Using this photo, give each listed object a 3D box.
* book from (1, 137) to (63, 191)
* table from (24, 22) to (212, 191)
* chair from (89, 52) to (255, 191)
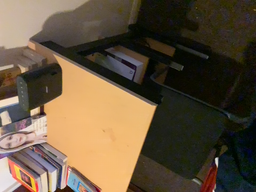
[{"bbox_3d":[-0.410,0.340,0.910,0.190,0.140,0.220,30,124,18],"label":"book"},{"bbox_3d":[-0.020,0.040,1.090,0.510,0.750,0.610,28,124,19],"label":"table"},{"bbox_3d":[0.270,0.180,0.990,0.490,0.720,0.480,28,124,20],"label":"chair"}]
